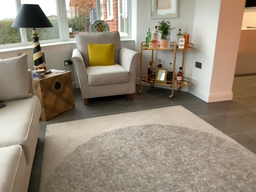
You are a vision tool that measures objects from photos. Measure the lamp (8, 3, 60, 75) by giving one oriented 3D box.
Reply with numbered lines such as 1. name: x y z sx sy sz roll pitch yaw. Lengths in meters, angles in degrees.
1. lamp: -1.090 -0.670 2.510 0.310 0.760 0.350 11 22 28

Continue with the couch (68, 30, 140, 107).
1. couch: -0.400 -0.480 3.190 0.890 0.930 0.950 -5 20 -14
